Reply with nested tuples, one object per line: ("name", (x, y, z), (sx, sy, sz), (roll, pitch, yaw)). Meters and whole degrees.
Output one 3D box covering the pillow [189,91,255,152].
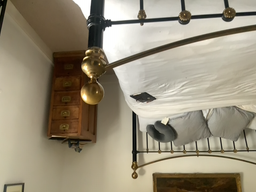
("pillow", (1.070, 0.260, 2.390), (0.530, 0.450, 0.230), (45, 149, 35))
